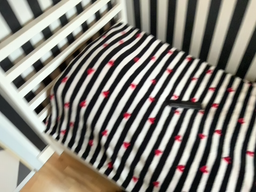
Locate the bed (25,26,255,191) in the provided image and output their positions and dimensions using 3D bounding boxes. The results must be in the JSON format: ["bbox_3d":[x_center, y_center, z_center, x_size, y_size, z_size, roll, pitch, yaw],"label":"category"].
[{"bbox_3d":[0.590,0.320,1.250,2.140,0.440,1.010,24,59,22],"label":"bed"}]
